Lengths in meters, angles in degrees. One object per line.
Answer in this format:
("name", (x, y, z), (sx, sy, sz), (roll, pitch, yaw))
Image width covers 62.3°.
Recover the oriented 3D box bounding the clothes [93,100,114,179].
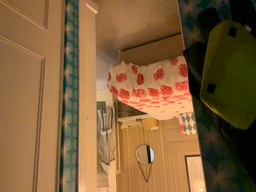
("clothes", (-0.470, 0.780, 4.010), (0.350, 1.430, 0.180), (1, 163, -13))
